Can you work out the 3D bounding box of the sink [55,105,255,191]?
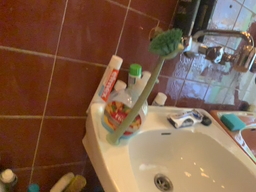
[{"bbox_3d":[0.140,0.220,0.590,0.530,0.210,0.410,5,21,-37],"label":"sink"}]
